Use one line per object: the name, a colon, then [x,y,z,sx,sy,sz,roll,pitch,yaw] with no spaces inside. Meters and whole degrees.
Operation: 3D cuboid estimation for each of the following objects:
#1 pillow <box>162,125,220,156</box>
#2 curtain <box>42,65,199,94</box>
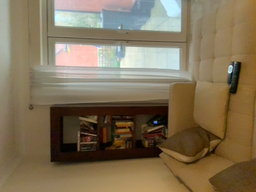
pillow: [0.560,0.390,1.950,0.430,0.300,0.120,-166,75,-64]
curtain: [-0.050,-0.210,2.850,0.320,2.020,0.330,-168,78,-78]
